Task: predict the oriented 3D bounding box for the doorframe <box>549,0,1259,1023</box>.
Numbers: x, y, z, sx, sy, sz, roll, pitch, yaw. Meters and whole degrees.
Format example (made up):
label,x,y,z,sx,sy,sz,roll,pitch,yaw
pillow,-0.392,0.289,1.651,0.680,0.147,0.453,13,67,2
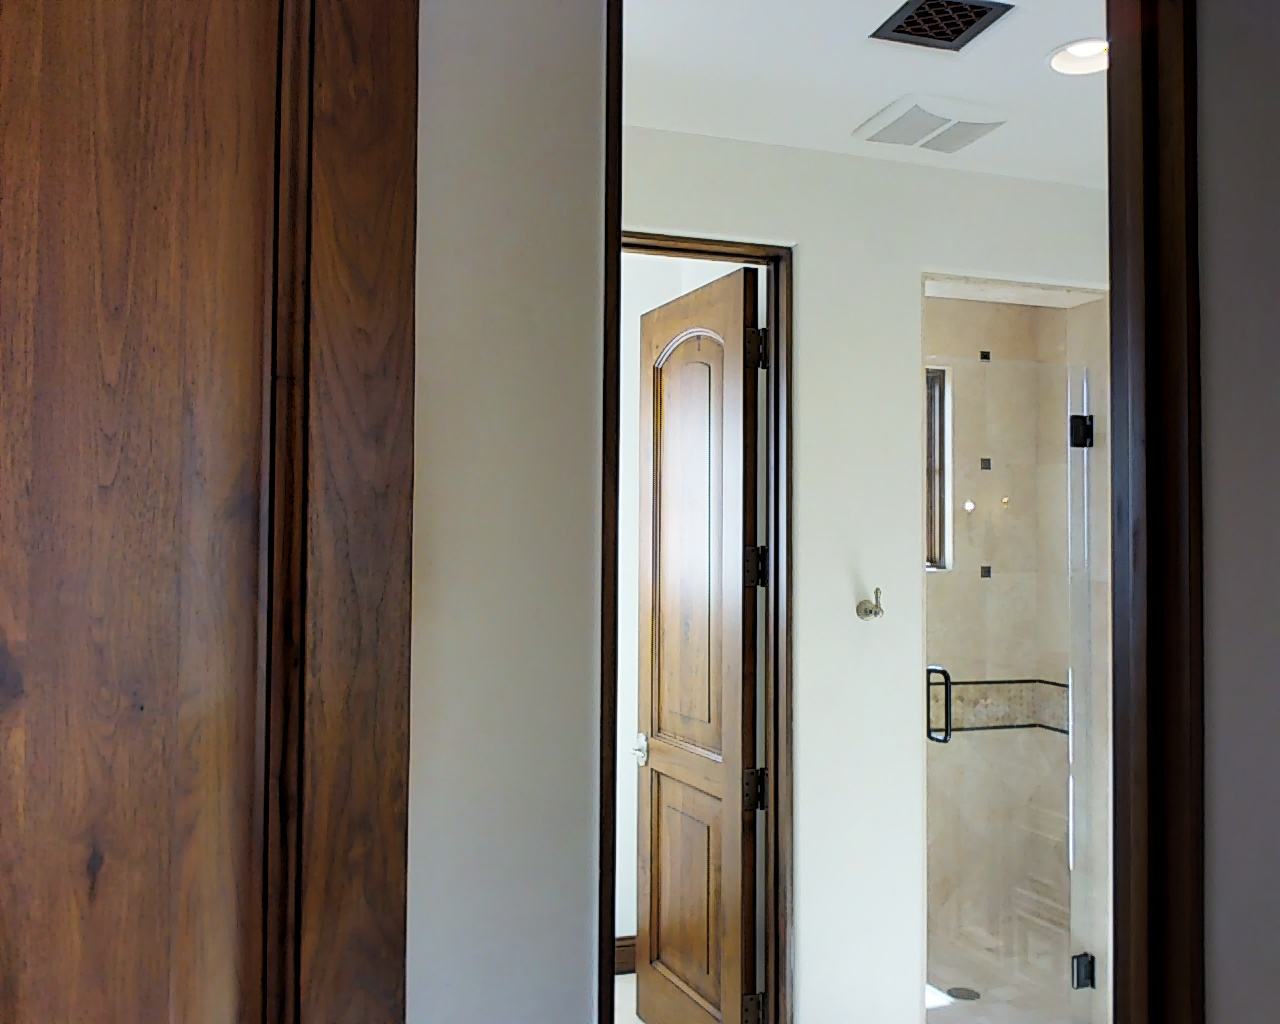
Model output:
label,x,y,z,sx,sy,sz,roll,pitch,yaw
doorframe,0.320,0.420,1.270,0.820,2.420,0.220,1,-2,-18
